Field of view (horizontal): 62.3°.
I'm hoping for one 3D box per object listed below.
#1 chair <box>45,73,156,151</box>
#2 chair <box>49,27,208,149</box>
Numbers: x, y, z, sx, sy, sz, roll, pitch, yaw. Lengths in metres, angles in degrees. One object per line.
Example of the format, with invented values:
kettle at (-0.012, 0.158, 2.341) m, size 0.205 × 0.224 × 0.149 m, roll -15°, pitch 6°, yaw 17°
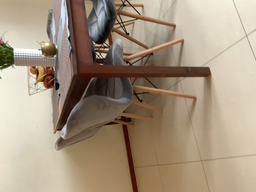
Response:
chair at (-0.260, 0.130, 1.770) m, size 0.450 × 0.770 × 0.490 m, roll 138°, pitch 126°, yaw -60°
chair at (-0.040, -0.020, 1.280) m, size 0.450 × 0.770 × 0.520 m, roll 138°, pitch 126°, yaw -60°
